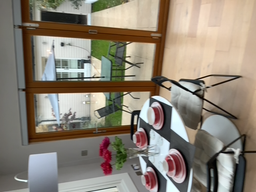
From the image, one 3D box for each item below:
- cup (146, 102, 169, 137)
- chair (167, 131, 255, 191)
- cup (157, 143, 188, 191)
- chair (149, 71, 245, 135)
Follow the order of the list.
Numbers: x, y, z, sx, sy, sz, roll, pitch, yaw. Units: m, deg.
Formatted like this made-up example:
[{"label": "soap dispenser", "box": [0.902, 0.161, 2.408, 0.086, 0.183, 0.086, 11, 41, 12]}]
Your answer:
[{"label": "cup", "box": [0.270, 0.210, 1.980, 0.250, 0.080, 0.250, -143, 55, -65]}, {"label": "chair", "box": [0.790, 0.620, 1.750, 0.510, 0.730, 0.470, -157, 67, -68]}, {"label": "cup", "box": [0.350, 0.570, 1.710, 0.280, 0.080, 0.280, -144, 56, -65]}, {"label": "chair", "box": [0.650, 0.030, 2.090, 0.470, 0.730, 0.520, -155, 66, -67]}]
